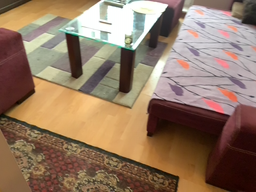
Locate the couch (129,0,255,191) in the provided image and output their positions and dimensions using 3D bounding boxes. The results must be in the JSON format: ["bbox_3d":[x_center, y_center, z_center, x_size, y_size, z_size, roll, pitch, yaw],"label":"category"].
[{"bbox_3d":[1.160,-0.340,1.940,1.530,0.780,2.490,16,43,11],"label":"couch"}]
